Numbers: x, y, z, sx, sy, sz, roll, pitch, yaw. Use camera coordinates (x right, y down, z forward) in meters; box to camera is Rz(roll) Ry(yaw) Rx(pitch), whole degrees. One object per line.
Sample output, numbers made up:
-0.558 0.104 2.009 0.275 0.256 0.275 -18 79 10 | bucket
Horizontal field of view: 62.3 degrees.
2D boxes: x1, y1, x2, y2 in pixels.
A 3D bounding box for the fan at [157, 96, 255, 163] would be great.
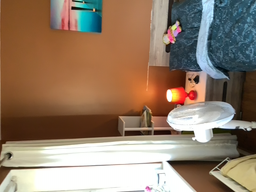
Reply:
0.770 0.200 1.490 0.430 1.020 0.330 -154 66 -76 | fan
